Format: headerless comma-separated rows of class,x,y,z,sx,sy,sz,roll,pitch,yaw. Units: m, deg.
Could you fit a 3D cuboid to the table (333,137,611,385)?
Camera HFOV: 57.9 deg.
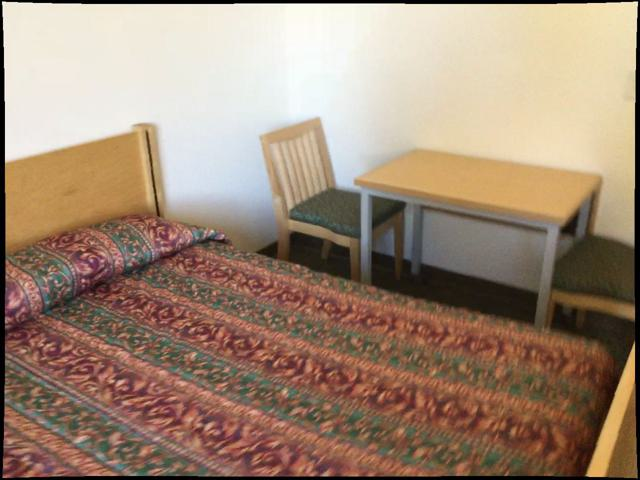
table,0.669,0.020,2.690,0.999,0.731,0.660,17,31,35
